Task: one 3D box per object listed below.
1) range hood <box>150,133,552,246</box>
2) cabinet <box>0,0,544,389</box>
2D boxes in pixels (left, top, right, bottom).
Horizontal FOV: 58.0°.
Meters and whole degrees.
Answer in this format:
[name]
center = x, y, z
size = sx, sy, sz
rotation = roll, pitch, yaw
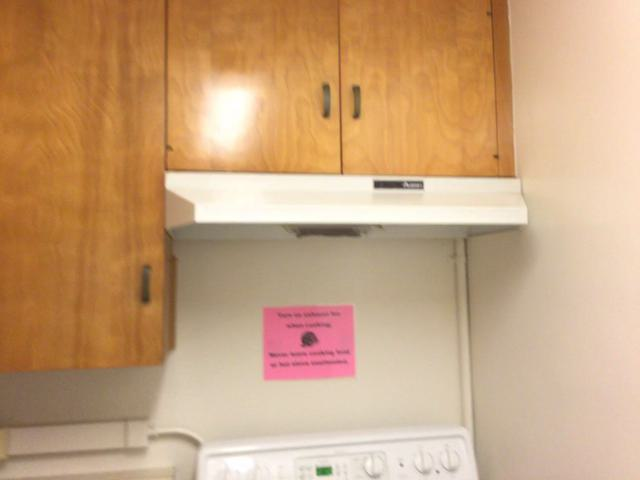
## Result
[range hood]
center = 0.060, -0.100, 1.450
size = 0.910, 0.180, 0.380
rotation = 1, -6, -13
[cabinet]
center = -0.240, -0.210, 1.500
size = 1.500, 1.070, 0.450
rotation = 1, -6, -13
